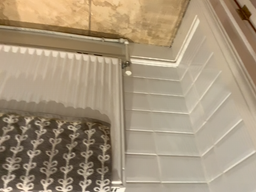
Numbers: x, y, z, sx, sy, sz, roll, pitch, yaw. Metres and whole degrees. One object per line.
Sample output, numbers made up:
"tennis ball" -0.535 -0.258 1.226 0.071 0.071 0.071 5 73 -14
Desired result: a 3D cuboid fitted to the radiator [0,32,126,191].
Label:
"radiator" -0.340 0.020 0.820 0.630 0.640 0.100 4 142 -10
